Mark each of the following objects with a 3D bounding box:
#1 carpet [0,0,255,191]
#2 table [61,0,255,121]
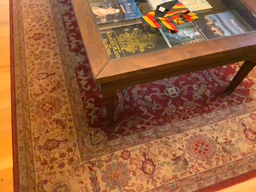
[{"bbox_3d":[0.010,-0.600,1.550,1.770,0.220,2.460,-12,58,-11],"label":"carpet"},{"bbox_3d":[0.040,-0.620,1.300,0.850,0.480,1.320,-11,58,-11],"label":"table"}]
